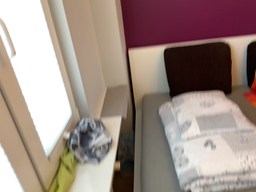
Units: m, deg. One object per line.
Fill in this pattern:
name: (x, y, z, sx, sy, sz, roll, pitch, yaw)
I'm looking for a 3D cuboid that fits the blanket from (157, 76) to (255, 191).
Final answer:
blanket: (0.510, 0.170, 1.370, 0.560, 0.210, 0.920, -5, 27, 5)
